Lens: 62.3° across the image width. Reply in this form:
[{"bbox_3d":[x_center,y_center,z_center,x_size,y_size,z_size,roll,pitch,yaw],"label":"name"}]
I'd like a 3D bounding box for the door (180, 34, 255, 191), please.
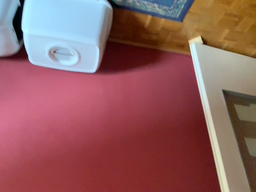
[{"bbox_3d":[0.860,0.470,1.260,0.890,1.980,0.100,9,148,-15],"label":"door"}]
